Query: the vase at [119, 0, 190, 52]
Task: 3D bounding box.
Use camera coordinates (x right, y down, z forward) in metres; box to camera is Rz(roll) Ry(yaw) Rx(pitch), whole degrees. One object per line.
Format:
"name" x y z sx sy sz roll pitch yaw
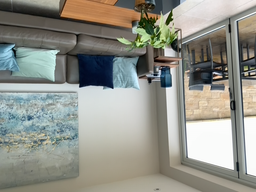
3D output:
"vase" 0.150 -0.550 1.350 0.330 0.440 0.320 0 177 -20
